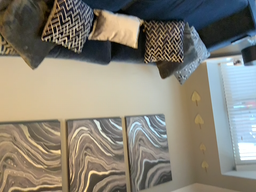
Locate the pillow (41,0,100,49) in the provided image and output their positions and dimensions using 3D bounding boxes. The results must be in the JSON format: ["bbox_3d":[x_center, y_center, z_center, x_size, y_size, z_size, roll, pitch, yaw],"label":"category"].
[{"bbox_3d":[-0.420,-0.570,1.570,0.130,0.320,0.390,-34,163,14],"label":"pillow"}]

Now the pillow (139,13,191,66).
[{"bbox_3d":[0.360,-0.550,2.090,0.370,0.340,0.170,-26,165,5],"label":"pillow"}]

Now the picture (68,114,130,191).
[{"bbox_3d":[-0.270,0.600,2.100,0.620,0.810,0.050,1,171,-37],"label":"picture"}]

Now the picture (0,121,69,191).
[{"bbox_3d":[-0.820,0.590,1.690,0.670,0.740,0.050,1,171,-35],"label":"picture"}]

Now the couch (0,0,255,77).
[{"bbox_3d":[-0.030,-0.730,1.840,2.610,0.740,1.130,1,171,-36],"label":"couch"}]
